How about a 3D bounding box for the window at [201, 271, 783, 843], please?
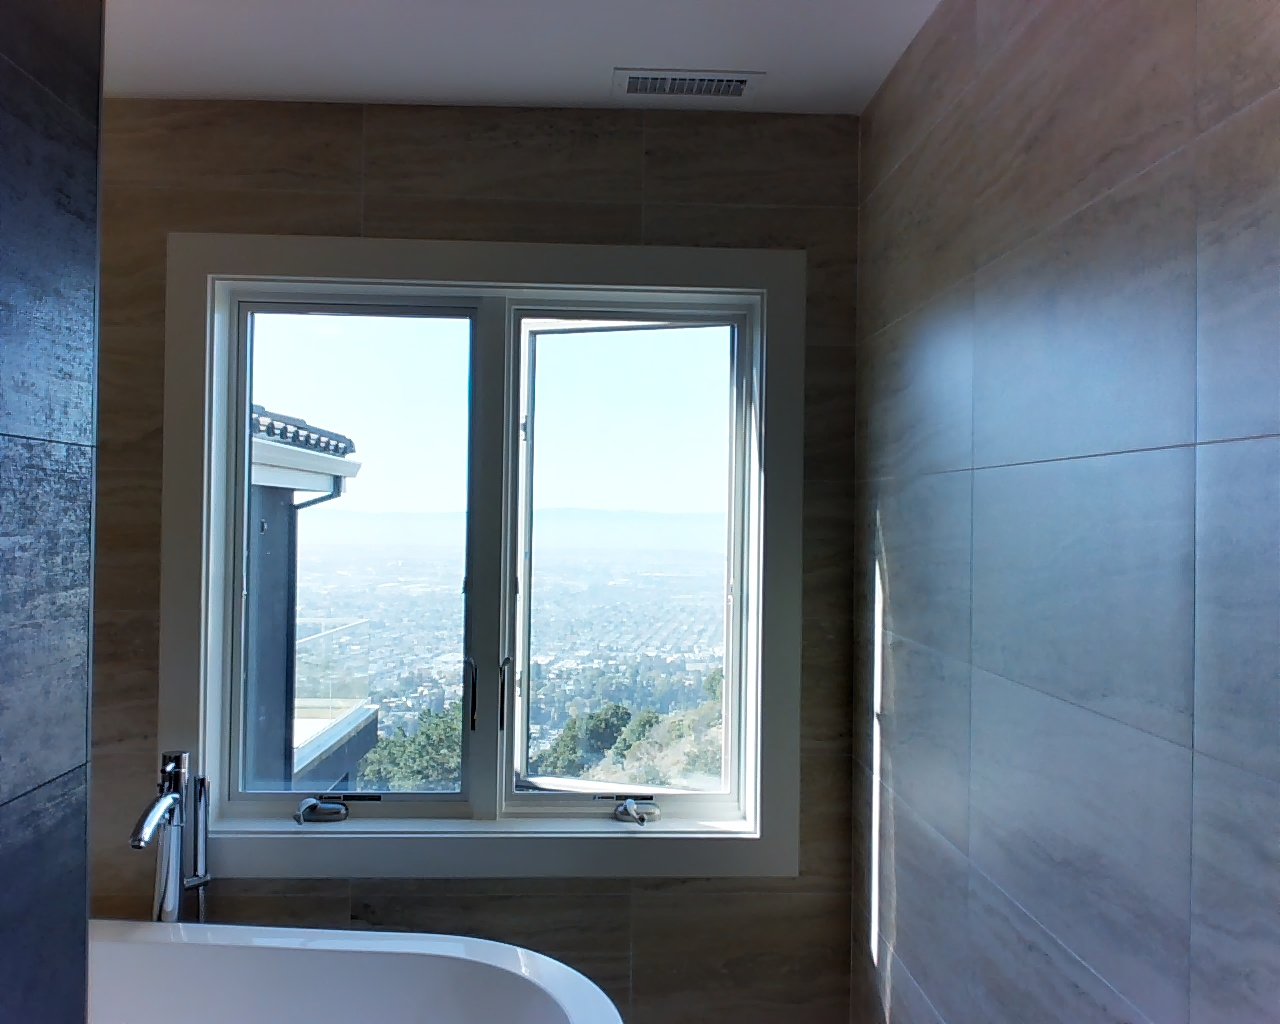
[{"bbox_3d":[-0.310,0.100,2.380,1.220,1.200,0.190,1,0,-3],"label":"window"}]
